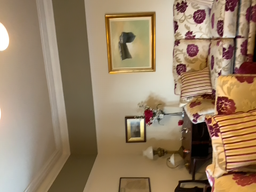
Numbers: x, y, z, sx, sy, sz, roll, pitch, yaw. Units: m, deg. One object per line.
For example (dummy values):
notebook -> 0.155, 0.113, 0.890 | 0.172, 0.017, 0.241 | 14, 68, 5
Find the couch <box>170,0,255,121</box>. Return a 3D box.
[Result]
couch -> 1.100, -0.810, 2.850 | 1.070, 0.890, 1.990 | -79, -13, -74

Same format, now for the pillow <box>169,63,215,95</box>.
pillow -> 0.870, -0.240, 2.910 | 0.170, 0.450, 0.390 | 107, 147, -46

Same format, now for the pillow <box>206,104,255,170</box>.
pillow -> 0.810, 0.270, 1.480 | 0.110, 0.420, 0.360 | 126, 131, -58
